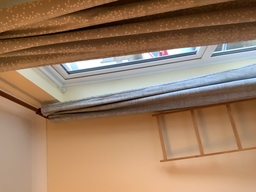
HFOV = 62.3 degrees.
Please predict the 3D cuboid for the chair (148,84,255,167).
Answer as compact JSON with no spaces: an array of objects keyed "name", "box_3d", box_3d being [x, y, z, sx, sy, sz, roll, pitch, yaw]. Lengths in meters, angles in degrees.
[{"name":"chair","box_3d":[0.880,0.200,1.570,0.450,1.400,0.440,76,-174,-72]}]
